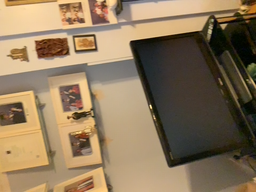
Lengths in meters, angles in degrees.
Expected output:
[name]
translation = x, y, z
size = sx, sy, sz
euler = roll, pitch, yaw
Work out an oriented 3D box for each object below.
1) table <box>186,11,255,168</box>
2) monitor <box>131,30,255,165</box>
[table]
translation = 0.960, -0.080, 1.630
size = 0.490, 0.530, 1.040
euler = 101, 156, -62
[monitor]
translation = 0.420, -0.060, 1.440
size = 0.040, 0.600, 0.890
euler = 103, 154, -64
